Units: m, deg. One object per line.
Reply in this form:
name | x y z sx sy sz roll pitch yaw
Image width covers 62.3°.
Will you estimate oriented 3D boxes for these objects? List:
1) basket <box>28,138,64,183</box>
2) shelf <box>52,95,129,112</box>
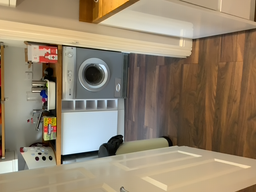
basket | -0.990 0.730 2.510 0.590 0.310 0.290 9 99 60
shelf | -0.500 0.080 2.830 0.530 0.880 0.140 10 100 60
